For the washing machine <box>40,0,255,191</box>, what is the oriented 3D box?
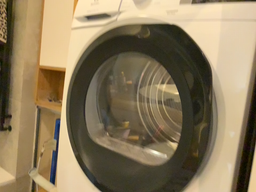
[{"bbox_3d":[0.190,0.080,0.880,0.630,0.840,0.760,11,6,36],"label":"washing machine"}]
